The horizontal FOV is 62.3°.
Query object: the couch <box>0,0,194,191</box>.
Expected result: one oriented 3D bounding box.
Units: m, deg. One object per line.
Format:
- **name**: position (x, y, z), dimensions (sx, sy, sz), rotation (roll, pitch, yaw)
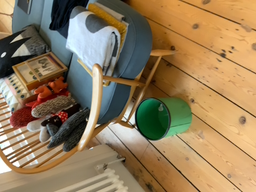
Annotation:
- **couch**: position (-0.630, -0.370, 1.600), dimensions (1.740, 0.760, 1.030), rotation (36, 115, 36)
